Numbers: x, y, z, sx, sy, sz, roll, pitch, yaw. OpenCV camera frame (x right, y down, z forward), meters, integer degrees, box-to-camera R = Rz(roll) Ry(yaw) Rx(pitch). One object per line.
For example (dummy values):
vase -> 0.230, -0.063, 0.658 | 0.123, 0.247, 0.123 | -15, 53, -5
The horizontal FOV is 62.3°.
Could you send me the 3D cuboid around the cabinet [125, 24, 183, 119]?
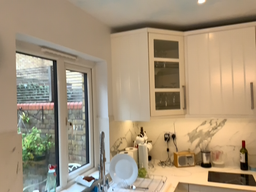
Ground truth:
cabinet -> 0.260, -0.230, 2.320 | 0.380, 0.900, 0.550 | -1, -1, -22
